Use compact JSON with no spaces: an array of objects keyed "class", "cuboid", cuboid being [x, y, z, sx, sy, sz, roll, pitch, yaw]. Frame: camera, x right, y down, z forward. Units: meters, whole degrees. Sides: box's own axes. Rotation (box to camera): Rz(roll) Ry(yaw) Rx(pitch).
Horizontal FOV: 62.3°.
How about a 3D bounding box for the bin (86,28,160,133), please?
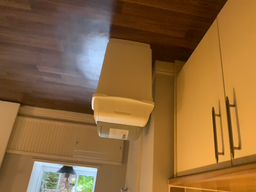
[{"class":"bin","cuboid":[-0.030,-0.100,1.470,0.410,0.610,0.280,9,156,-8]}]
